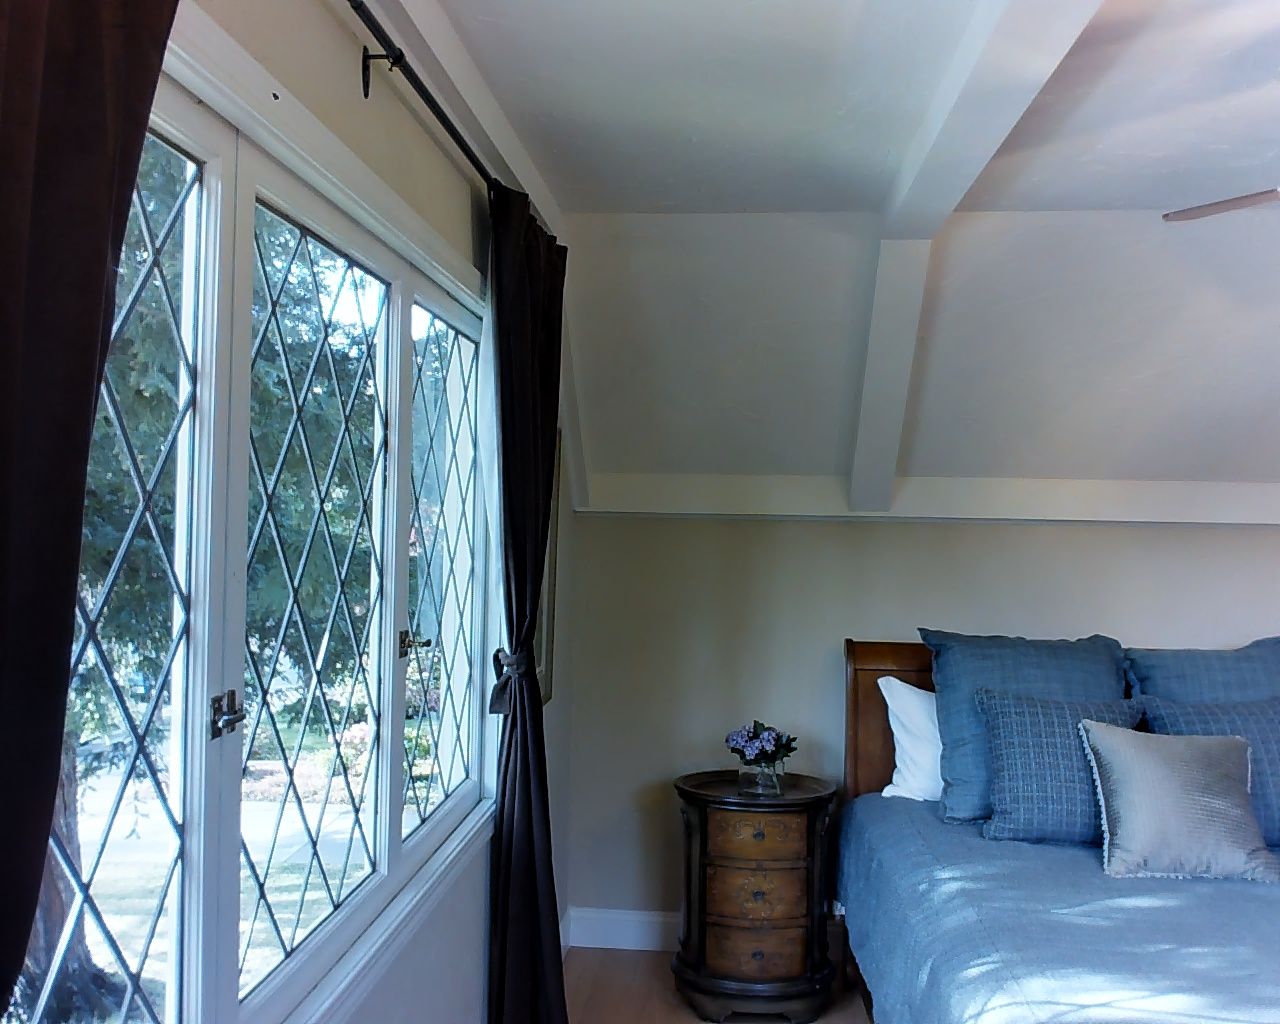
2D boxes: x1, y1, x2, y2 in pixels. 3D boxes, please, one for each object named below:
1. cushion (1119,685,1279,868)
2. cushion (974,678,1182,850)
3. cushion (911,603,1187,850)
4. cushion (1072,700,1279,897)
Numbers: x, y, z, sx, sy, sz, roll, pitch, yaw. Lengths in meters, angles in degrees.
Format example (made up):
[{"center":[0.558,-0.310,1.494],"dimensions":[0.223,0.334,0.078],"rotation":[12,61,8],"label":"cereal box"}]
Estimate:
[{"center":[1.670,0.740,3.010],"dimensions":[0.510,0.450,0.220],"rotation":[1,-25,6],"label":"cushion"},{"center":[1.220,0.710,3.040],"dimensions":[0.470,0.430,0.190],"rotation":[1,-23,5],"label":"cushion"},{"center":[1.210,0.650,3.270],"dimensions":[0.680,0.670,0.270],"rotation":[2,-22,2],"label":"cushion"},{"center":[1.430,0.740,2.810],"dimensions":[0.470,0.450,0.170],"rotation":[1,-37,6],"label":"cushion"}]
